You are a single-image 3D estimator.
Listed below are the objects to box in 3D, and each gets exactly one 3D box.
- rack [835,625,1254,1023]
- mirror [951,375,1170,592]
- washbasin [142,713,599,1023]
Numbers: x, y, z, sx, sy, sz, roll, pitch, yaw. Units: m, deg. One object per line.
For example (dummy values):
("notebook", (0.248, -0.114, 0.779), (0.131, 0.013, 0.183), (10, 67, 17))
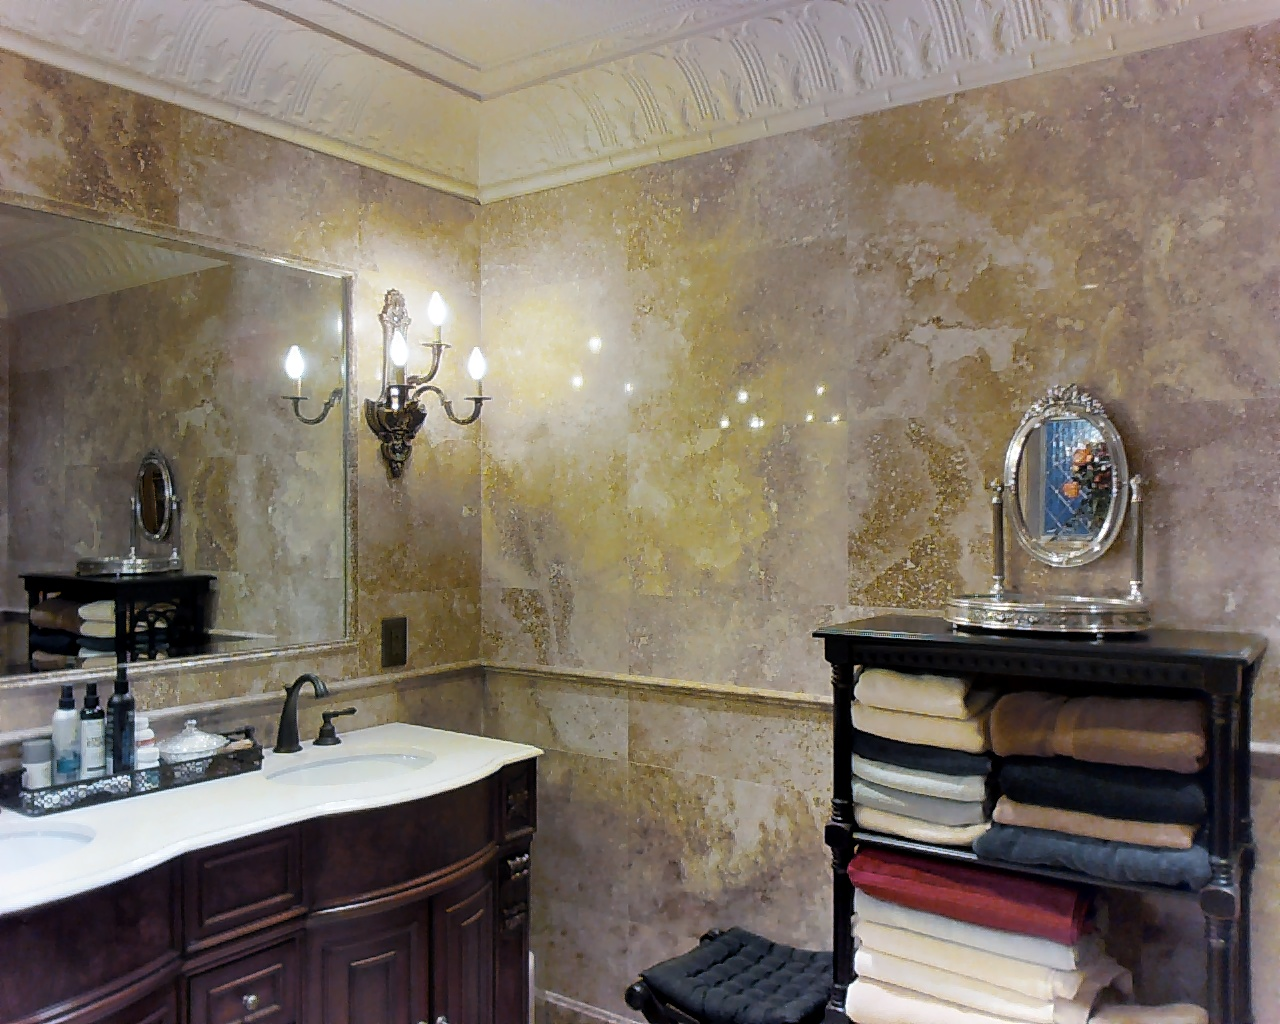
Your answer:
("rack", (0.720, 0.830, 1.930), (0.620, 1.190, 0.390), (0, -1, 37))
("mirror", (0.800, -0.050, 2.070), (0.390, 0.390, 0.060), (0, -1, 37))
("washbasin", (-0.560, 0.980, 2.370), (0.550, 0.900, 0.810), (0, -1, 37))
